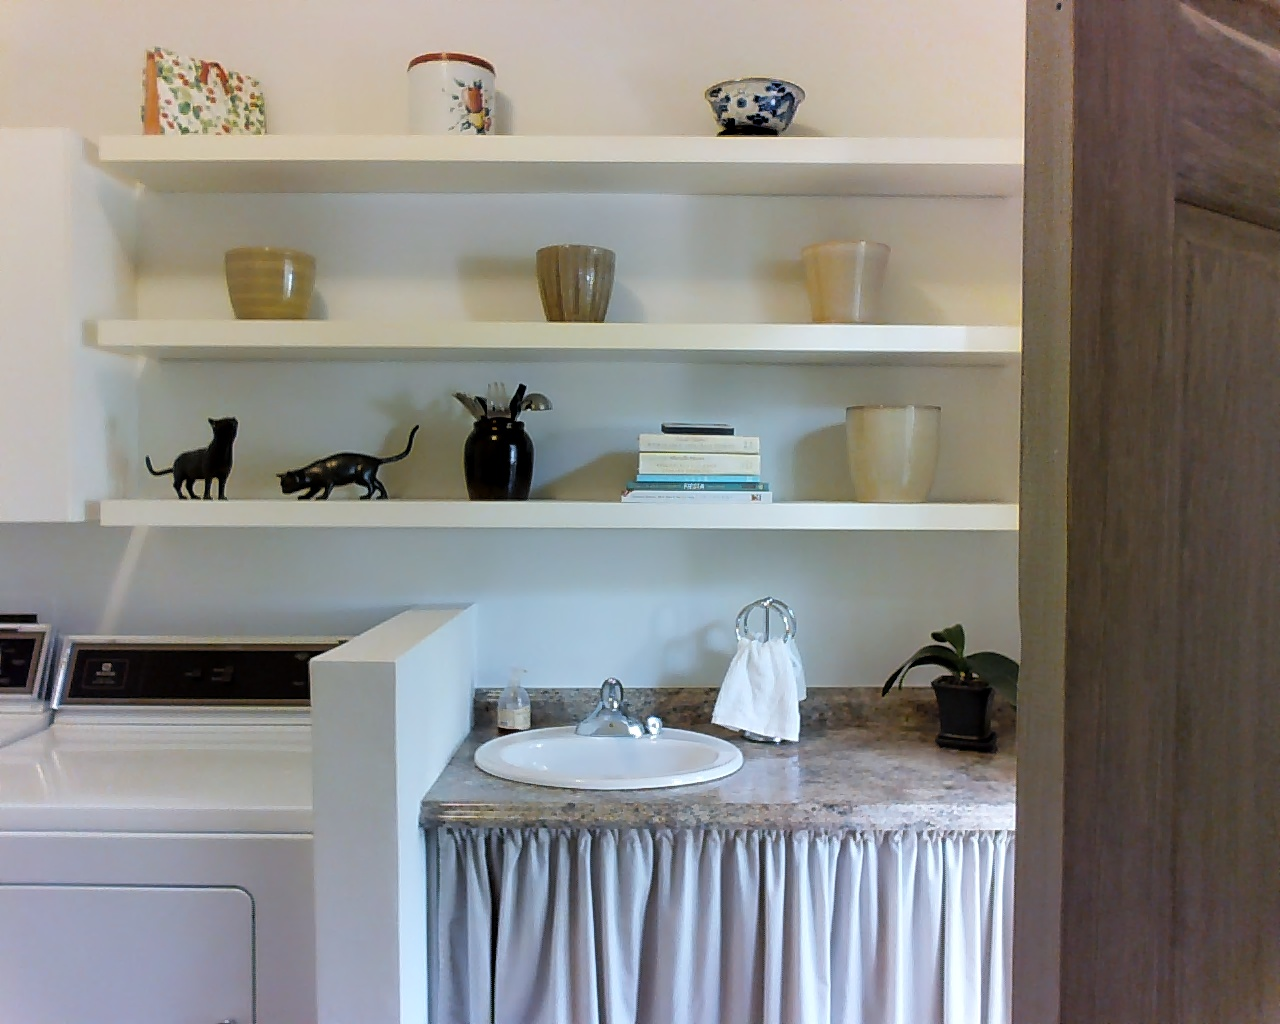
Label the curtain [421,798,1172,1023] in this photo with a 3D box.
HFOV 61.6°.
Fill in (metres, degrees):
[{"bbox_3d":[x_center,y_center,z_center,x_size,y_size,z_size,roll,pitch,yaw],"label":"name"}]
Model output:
[{"bbox_3d":[0.250,0.950,1.810,1.210,0.890,0.150,1,1,-1],"label":"curtain"}]
